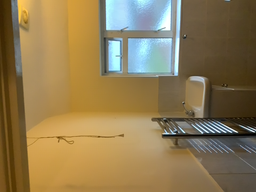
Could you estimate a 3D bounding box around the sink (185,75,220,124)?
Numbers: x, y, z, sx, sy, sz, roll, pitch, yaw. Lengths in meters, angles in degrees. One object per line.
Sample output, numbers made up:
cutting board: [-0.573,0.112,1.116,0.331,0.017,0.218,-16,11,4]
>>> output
sink: [0.750,0.010,2.200,0.530,0.150,0.430,-102,12,-82]
